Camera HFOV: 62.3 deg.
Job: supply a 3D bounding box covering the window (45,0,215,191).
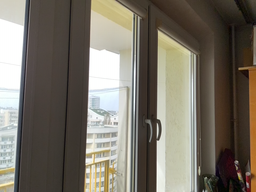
[{"bbox_3d":[0.260,0.130,1.390,0.190,1.670,1.620,-2,-5,36],"label":"window"}]
